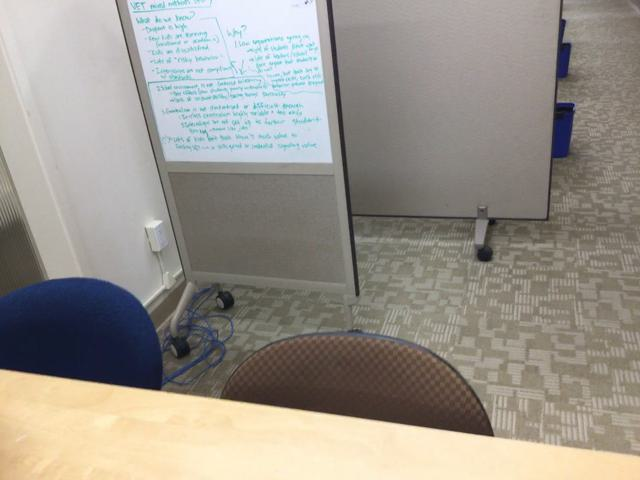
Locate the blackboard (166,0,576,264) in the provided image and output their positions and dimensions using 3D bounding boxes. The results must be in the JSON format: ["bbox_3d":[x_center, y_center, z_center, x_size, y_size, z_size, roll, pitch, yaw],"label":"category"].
[{"bbox_3d":[0.250,-0.510,2.700,1.710,1.160,0.370,1,30,24],"label":"blackboard"}]

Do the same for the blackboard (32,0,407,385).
[{"bbox_3d":[-0.260,-0.220,2.000,0.880,1.400,0.400,1,30,24],"label":"blackboard"}]
